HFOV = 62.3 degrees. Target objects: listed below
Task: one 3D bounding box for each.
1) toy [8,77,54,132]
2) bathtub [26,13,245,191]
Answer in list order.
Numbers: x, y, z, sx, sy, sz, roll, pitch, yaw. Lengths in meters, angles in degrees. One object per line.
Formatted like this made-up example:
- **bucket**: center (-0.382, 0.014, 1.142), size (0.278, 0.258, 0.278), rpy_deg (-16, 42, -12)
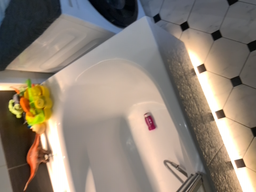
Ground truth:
- **toy**: center (-0.490, 0.040, 1.070), size (0.150, 0.100, 0.230), rpy_deg (-24, 80, 29)
- **bathtub**: center (0.110, 0.460, 1.130), size (0.770, 0.590, 1.380), rpy_deg (-24, 80, 29)
